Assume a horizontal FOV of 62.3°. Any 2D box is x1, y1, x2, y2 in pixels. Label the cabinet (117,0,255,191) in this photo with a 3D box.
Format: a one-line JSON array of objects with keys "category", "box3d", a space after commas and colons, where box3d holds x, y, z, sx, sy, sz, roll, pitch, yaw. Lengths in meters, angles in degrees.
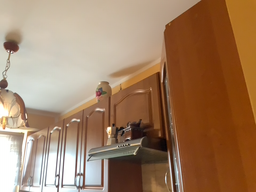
[{"category": "cabinet", "box3d": [0.360, 0.070, 0.930, 0.590, 0.720, 0.570, 15, -26, -37]}]
